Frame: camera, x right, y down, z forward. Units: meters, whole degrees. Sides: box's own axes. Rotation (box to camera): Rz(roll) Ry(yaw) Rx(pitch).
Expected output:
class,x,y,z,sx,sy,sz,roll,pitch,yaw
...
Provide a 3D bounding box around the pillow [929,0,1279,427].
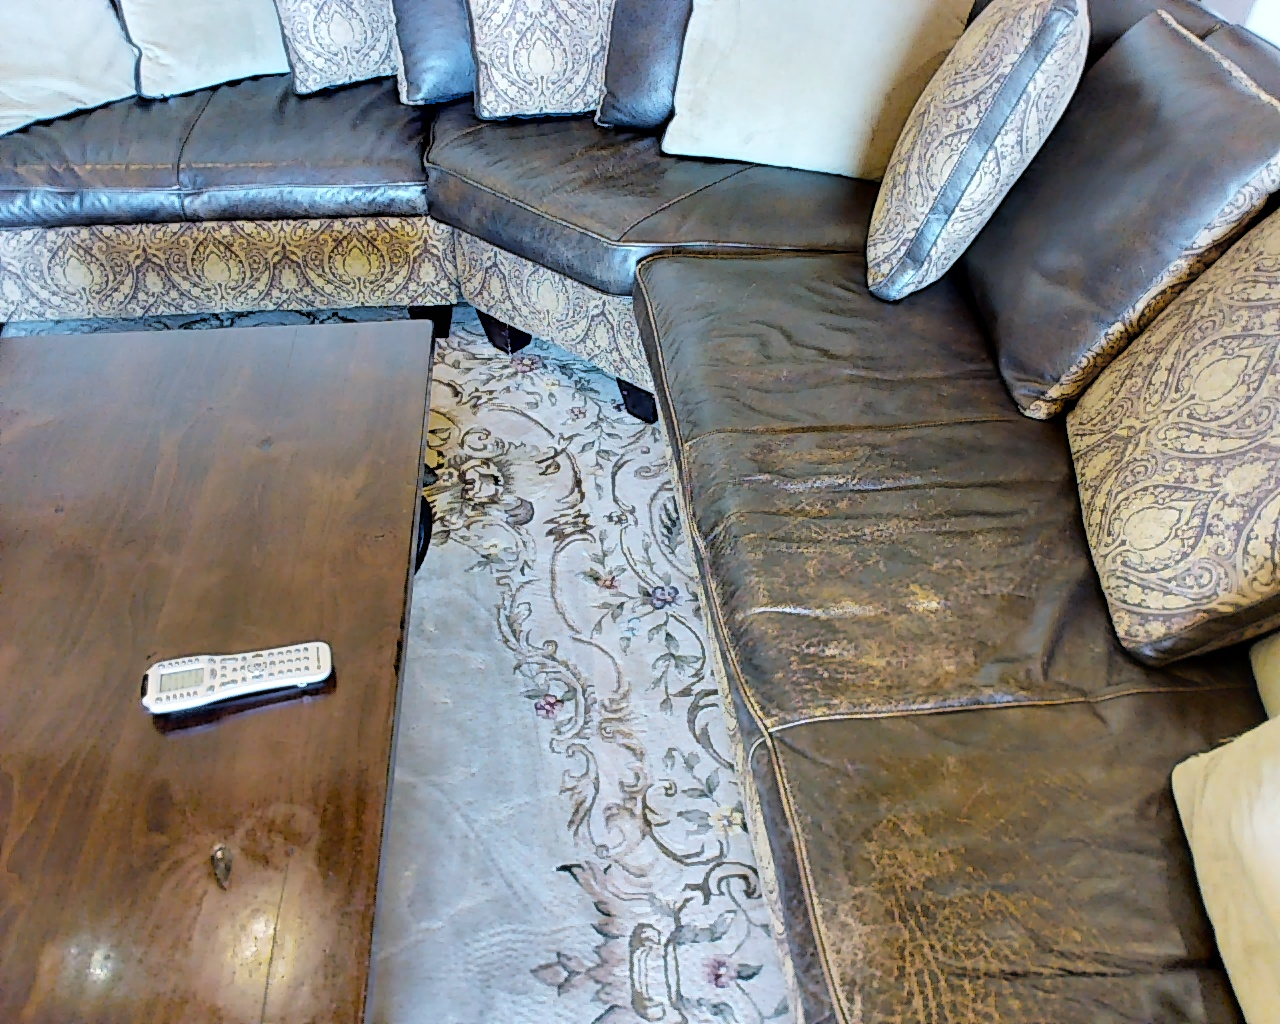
class,x,y,z,sx,sy,sz,roll,pitch,yaw
pillow,0.840,-0.590,1.950,0.440,0.500,0.740,3,42,3

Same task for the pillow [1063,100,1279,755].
class,x,y,z,sx,sy,sz,roll,pitch,yaw
pillow,0.890,-0.120,1.530,0.260,0.610,0.660,-21,39,28

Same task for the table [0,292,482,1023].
class,x,y,z,sx,sy,sz,roll,pitch,yaw
table,-0.780,0.310,1.640,1.020,0.540,1.500,-4,42,-5

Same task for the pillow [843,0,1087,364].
class,x,y,z,sx,sy,sz,roll,pitch,yaw
pillow,0.700,-0.810,2.170,0.300,0.690,0.710,-2,46,27
